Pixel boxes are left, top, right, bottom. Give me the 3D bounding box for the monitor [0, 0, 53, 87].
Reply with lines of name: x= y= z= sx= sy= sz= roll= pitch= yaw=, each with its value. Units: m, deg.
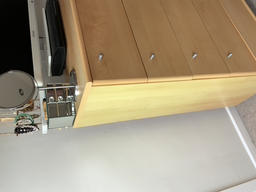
monitor: x=-0.640 y=-0.320 z=1.040 sx=0.610 sy=0.380 sz=0.060 roll=66 pitch=152 yaw=22
